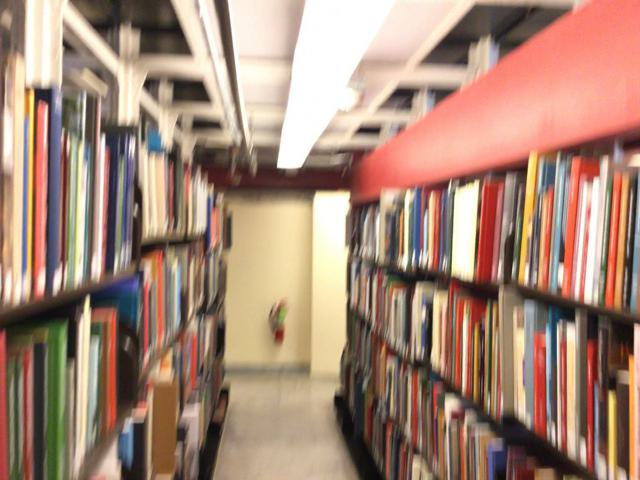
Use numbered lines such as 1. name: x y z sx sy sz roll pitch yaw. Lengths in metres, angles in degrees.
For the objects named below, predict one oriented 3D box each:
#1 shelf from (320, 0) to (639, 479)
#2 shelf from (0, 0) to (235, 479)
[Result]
1. shelf: 0.590 0.550 2.410 0.610 1.970 4.980 -1 0 -6
2. shelf: -0.670 0.580 2.250 0.450 1.830 5.350 -1 0 -6
